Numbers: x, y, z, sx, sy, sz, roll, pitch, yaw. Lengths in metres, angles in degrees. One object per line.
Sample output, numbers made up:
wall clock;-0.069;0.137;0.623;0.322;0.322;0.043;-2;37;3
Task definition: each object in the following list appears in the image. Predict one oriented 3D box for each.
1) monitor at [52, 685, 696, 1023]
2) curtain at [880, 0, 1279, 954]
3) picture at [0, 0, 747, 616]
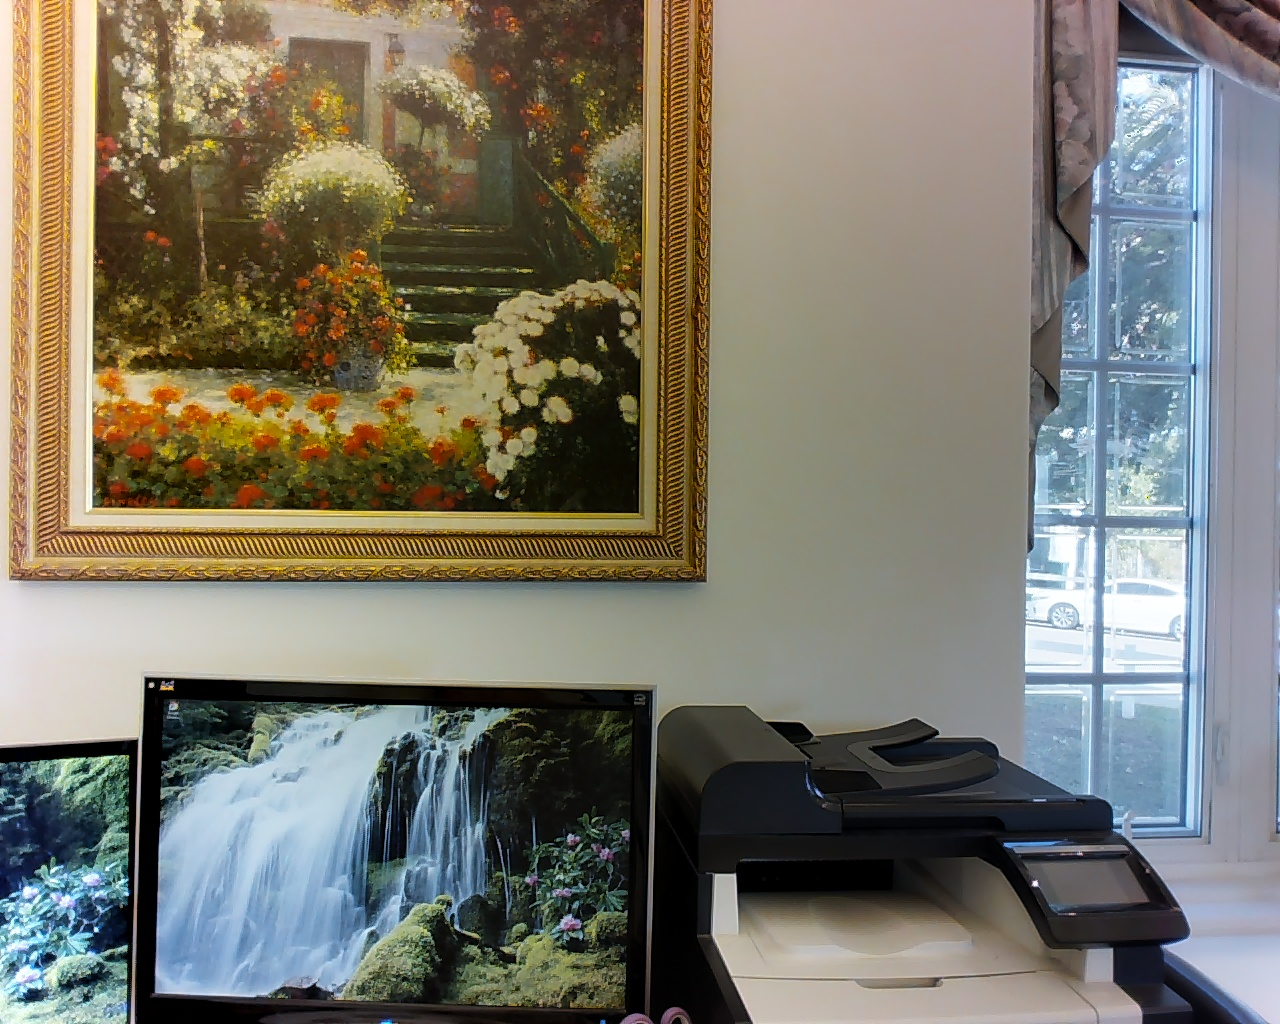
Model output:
monitor;-0.250;0.370;1.070;0.600;0.380;0.080;1;0;-7
curtain;1.550;-0.240;2.080;2.120;2.030;0.240;1;0;-7
picture;-0.330;-0.360;1.390;0.930;0.980;0.060;1;0;-7
